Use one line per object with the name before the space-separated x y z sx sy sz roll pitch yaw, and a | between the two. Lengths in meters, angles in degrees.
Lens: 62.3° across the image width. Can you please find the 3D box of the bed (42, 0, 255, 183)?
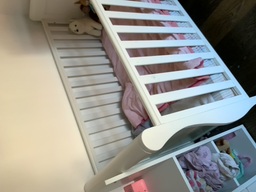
bed | 0.030 -0.310 1.550 1.410 0.860 0.750 64 143 23
